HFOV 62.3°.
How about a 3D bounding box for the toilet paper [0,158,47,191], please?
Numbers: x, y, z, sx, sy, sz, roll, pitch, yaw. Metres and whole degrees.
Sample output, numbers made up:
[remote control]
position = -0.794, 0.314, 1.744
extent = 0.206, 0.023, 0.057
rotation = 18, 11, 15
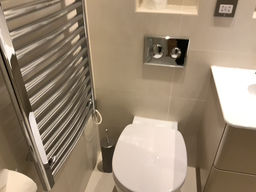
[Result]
[toilet paper]
position = -0.310, 0.280, 0.590
extent = 0.090, 0.160, 0.120
rotation = 6, 34, 7
